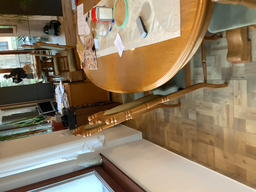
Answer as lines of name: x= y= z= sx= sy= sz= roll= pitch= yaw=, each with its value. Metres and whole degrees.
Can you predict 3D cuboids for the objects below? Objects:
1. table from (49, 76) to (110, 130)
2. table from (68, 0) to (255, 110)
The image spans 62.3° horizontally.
table: x=-1.010 y=0.050 z=4.200 sx=1.380 sy=0.750 sz=0.800 roll=10 pitch=106 yaw=60
table: x=0.150 y=-0.620 z=1.860 sx=1.890 sy=0.790 sz=1.110 roll=10 pitch=106 yaw=60
